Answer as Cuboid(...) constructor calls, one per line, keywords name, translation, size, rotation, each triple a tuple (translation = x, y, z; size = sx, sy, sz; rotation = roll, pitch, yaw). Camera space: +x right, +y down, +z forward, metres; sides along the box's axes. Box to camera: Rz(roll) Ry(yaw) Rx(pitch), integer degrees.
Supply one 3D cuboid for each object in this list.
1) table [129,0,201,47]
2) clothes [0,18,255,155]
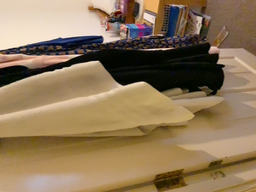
Cuboid(name="table", translation=(0.350, -0.840, 2.180), size=(0.500, 0.480, 0.510), rotation=(-122, 32, -52))
Cuboid(name="clothes", translation=(-0.100, -0.140, 0.900), size=(0.690, 1.380, 0.200), rotation=(-123, 33, -53))
